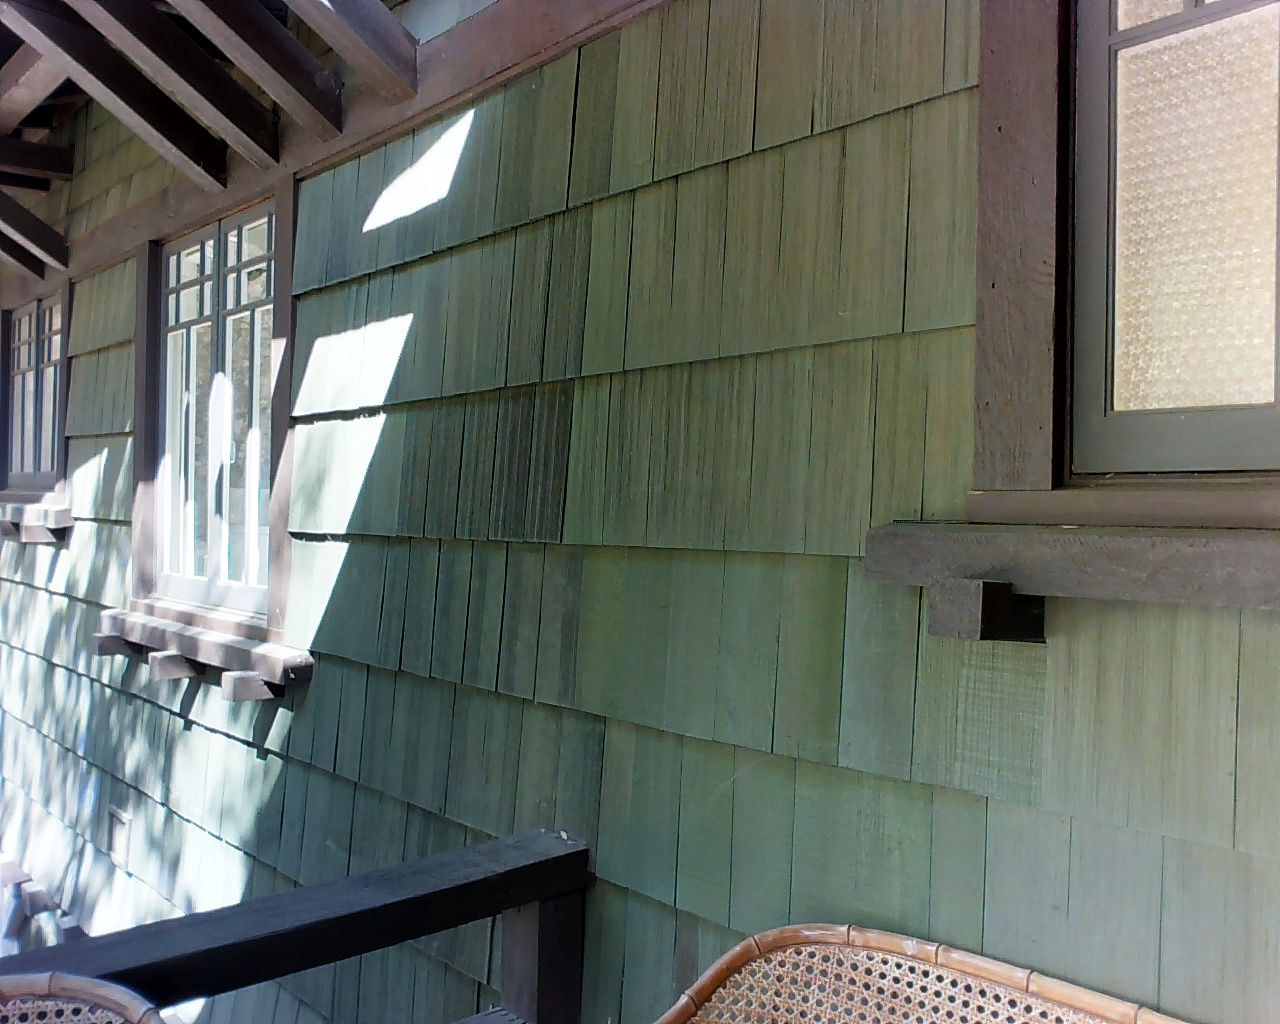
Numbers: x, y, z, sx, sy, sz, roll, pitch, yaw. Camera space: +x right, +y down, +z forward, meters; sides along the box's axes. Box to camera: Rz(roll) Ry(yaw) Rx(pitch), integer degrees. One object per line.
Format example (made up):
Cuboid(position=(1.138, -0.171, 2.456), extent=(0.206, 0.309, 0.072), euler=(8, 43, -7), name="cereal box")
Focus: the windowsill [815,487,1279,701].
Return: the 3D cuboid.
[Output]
Cuboid(position=(0.900, 0.100, 1.340), extent=(0.220, 0.260, 1.540), euler=(0, 1, -42), name="windowsill")
